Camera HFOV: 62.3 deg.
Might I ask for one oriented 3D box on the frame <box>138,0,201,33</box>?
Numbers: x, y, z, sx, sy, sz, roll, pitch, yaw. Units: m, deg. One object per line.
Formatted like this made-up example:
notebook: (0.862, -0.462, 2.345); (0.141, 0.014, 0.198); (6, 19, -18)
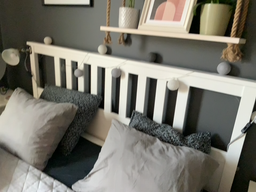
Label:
frame: (0.210, -0.490, 1.040); (0.260, 0.320, 0.140); (16, 23, 30)

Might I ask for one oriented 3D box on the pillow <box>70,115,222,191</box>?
pillow: (0.090, 0.410, 1.060); (0.570, 0.360, 0.460); (16, 23, 29)

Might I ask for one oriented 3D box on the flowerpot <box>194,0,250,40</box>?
flowerpot: (0.420, -0.370, 0.940); (0.180, 0.210, 0.150); (15, 22, 28)

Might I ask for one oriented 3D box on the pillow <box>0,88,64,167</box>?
pillow: (-0.690, 0.170, 1.360); (0.540, 0.270, 0.230); (19, 24, 28)
